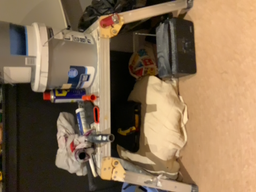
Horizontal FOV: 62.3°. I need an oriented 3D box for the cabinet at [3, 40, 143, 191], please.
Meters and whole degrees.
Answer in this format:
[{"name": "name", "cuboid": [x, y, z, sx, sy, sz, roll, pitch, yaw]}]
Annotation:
[{"name": "cabinet", "cuboid": [-0.290, 0.180, 1.280, 0.150, 0.790, 0.910, -3, 88, 61]}]
